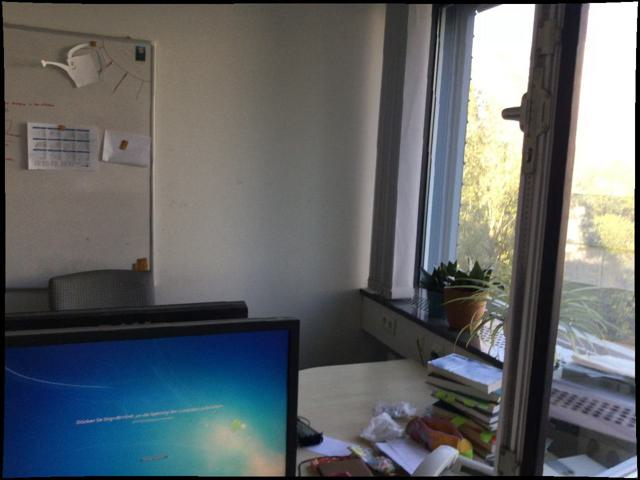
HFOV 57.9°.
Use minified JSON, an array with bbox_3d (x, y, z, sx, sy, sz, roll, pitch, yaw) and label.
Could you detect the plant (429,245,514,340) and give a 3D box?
[{"bbox_3d":[0.629,0.210,2.430,0.220,0.330,0.260,-3,10,-19],"label":"plant"}]
